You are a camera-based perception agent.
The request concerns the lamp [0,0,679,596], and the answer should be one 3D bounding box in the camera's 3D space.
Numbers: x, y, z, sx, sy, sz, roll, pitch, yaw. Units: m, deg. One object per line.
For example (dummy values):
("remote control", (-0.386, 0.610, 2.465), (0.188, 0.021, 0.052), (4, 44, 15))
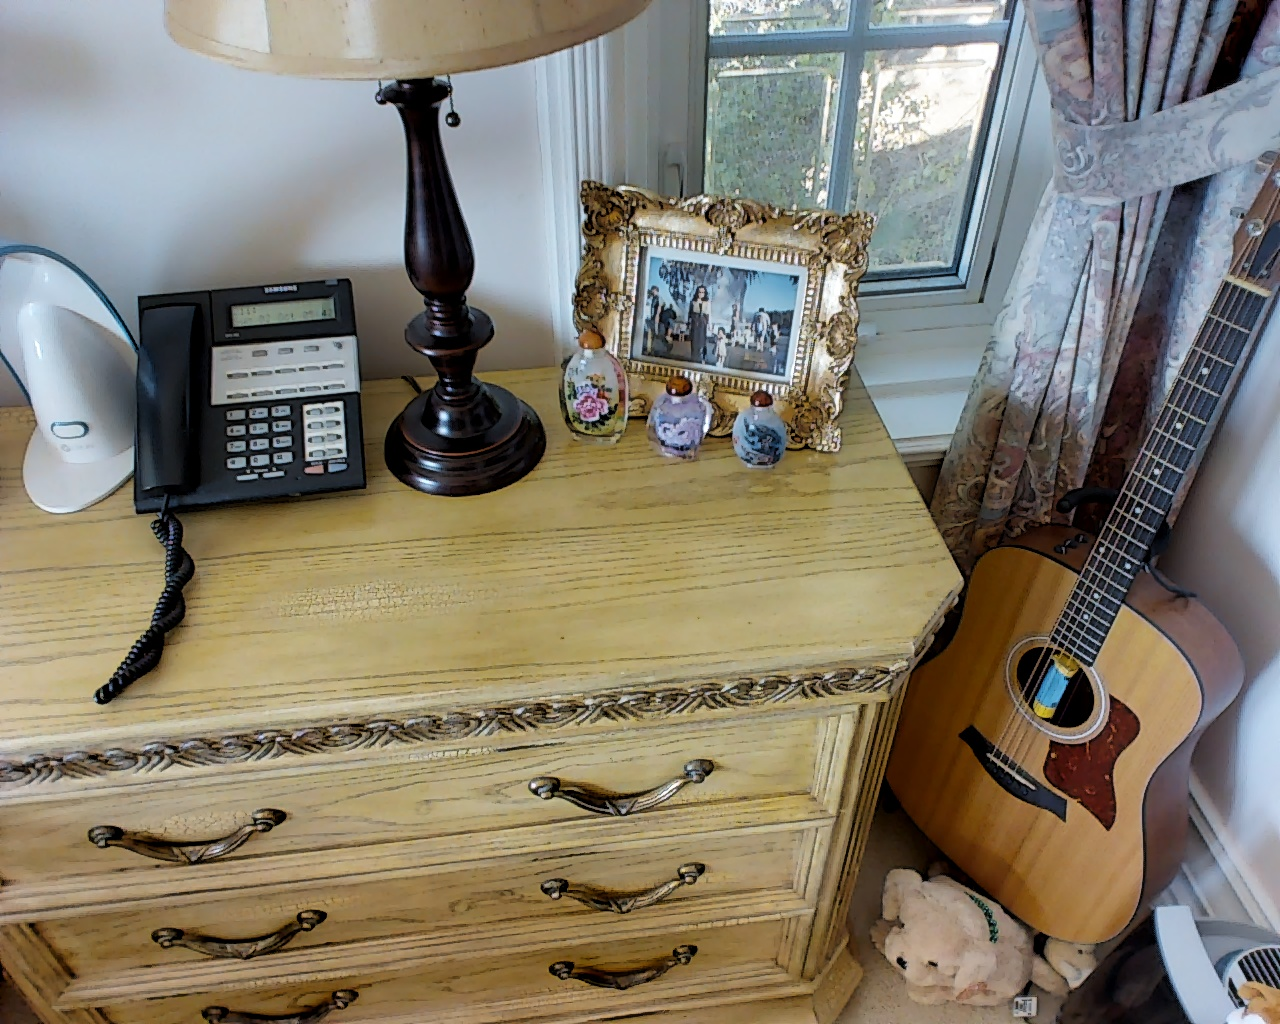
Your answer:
("lamp", (-0.190, -0.310, 0.780), (0.390, 0.740, 0.270), (-5, 43, -7))
